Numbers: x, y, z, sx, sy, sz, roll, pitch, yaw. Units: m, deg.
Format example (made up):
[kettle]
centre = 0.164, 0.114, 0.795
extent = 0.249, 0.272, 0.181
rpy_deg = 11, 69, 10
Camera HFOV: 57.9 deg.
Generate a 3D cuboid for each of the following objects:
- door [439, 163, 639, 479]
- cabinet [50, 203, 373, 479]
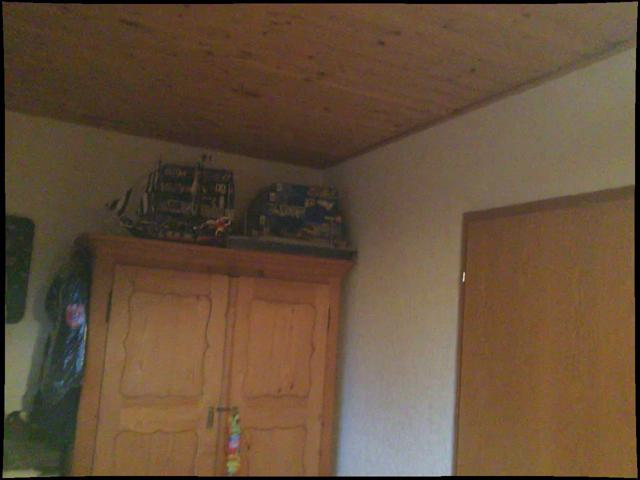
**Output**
[door]
centre = 0.779, 0.811, 1.860
extent = 0.100, 2.062, 1.110
rpy_deg = 7, -4, -26
[cabinet]
centre = -0.539, 0.881, 2.900
extent = 1.399, 1.922, 0.510
rpy_deg = 7, -4, -26
